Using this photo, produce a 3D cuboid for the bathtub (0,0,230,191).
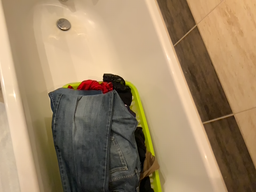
[{"bbox_3d":[-0.190,0.030,1.020,0.700,0.610,1.650,-12,77,-26],"label":"bathtub"}]
